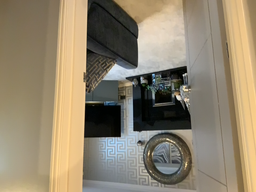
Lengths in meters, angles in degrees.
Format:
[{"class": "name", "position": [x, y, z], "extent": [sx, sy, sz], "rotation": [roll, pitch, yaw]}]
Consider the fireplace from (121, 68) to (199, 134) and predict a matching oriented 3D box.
[{"class": "fireplace", "position": [0.610, 0.170, 4.290], "extent": [1.360, 1.110, 0.630], "rotation": [-8, 166, 30]}]

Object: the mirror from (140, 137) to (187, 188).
[{"class": "mirror", "position": [0.660, 1.260, 4.100], "extent": [0.880, 0.900, 0.060], "rotation": [-8, 166, 29]}]

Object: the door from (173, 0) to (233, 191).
[{"class": "door", "position": [0.390, -0.070, 1.260], "extent": [0.030, 1.980, 0.740], "rotation": [-2, 168, 3]}]
